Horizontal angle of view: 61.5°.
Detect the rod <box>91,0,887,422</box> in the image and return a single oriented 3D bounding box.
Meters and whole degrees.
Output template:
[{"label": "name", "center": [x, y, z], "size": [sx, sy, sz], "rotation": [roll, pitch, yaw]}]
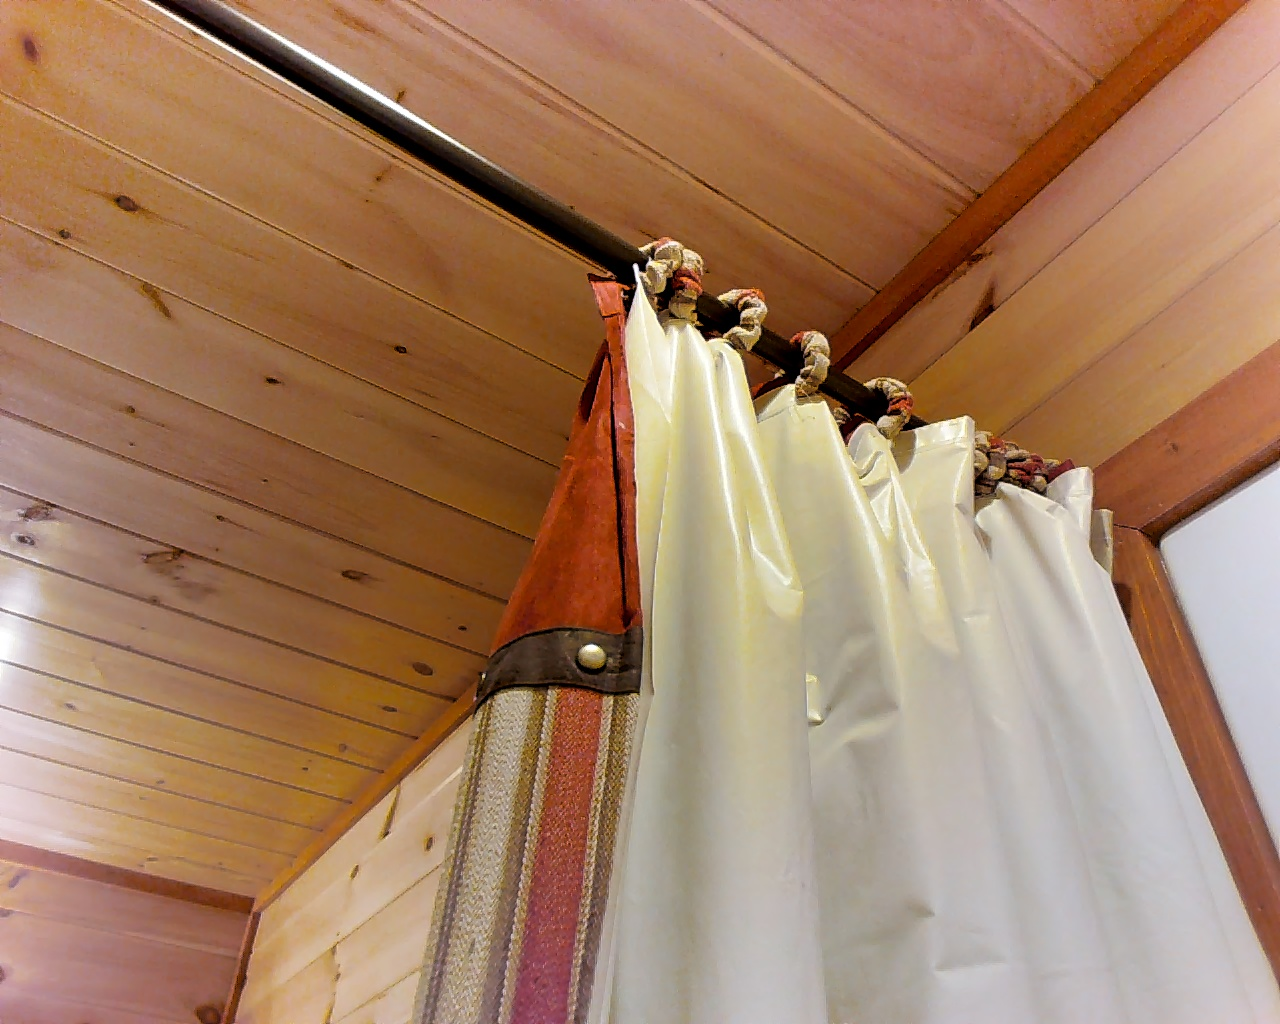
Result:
[{"label": "rod", "center": [-0.300, -0.330, 0.650], "size": [1.180, 0.060, 0.040], "rotation": [25, -47, -25]}]
